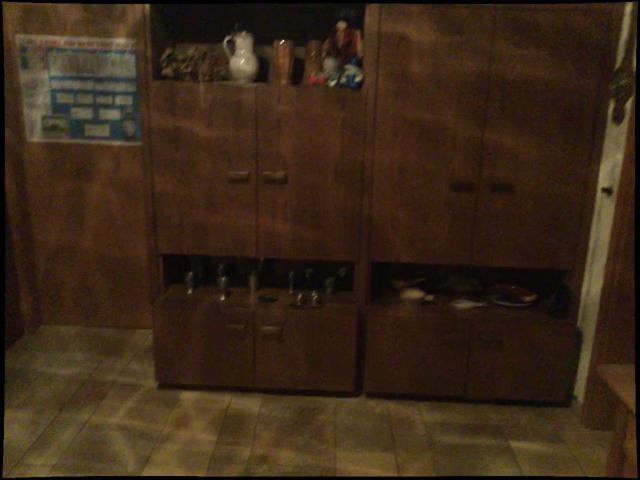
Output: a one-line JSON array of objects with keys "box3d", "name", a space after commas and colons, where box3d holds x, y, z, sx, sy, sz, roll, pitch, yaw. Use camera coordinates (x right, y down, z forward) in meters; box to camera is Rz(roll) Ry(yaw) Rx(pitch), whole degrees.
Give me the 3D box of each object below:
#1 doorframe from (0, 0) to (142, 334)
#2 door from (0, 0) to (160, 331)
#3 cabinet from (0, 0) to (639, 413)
[{"box3d": [-1.359, -0.460, 3.080, 0.639, 1.972, 0.240, 2, 17, 1], "name": "doorframe"}, {"box3d": [-1.289, -0.450, 3.130, 0.699, 1.952, 0.180, 2, 17, 1], "name": "door"}, {"box3d": [-0.619, -0.541, 2.680, 3.726, 2.422, 0.690, 2, 17, 1], "name": "cabinet"}]
